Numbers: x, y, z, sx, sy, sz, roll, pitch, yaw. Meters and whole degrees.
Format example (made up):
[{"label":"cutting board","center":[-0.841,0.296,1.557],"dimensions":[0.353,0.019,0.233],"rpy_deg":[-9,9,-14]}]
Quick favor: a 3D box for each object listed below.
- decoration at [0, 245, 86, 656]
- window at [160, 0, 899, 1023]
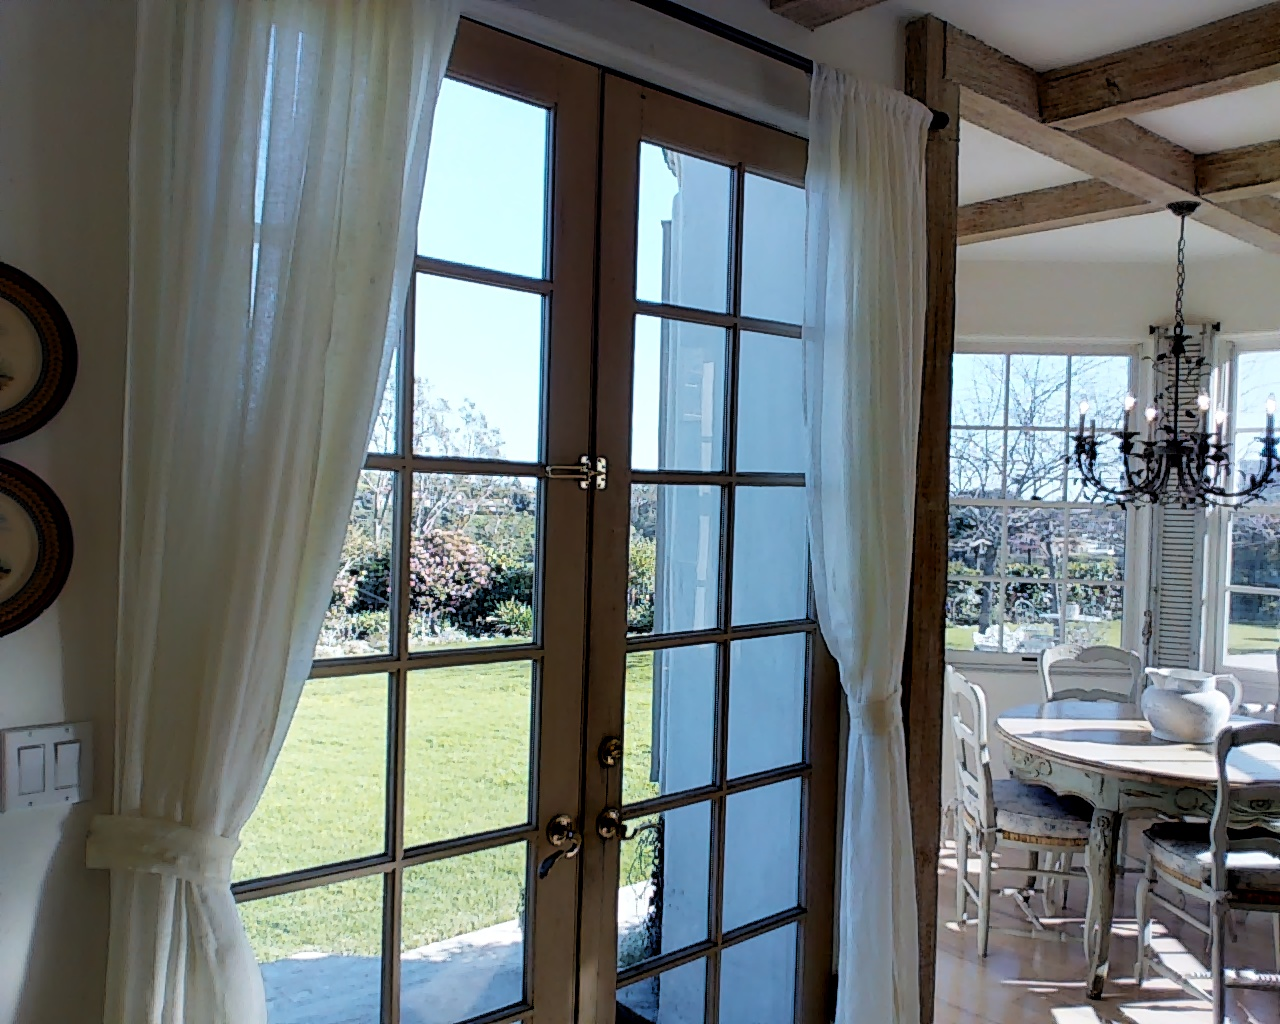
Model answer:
[{"label":"decoration","center":[-0.880,-0.080,1.400],"dimensions":[0.270,0.540,0.030],"rpy_deg":[0,1,-40]},{"label":"window","center":[-0.090,0.270,2.130],"dimensions":[1.560,2.551,0.210],"rpy_deg":[0,1,-40]}]
